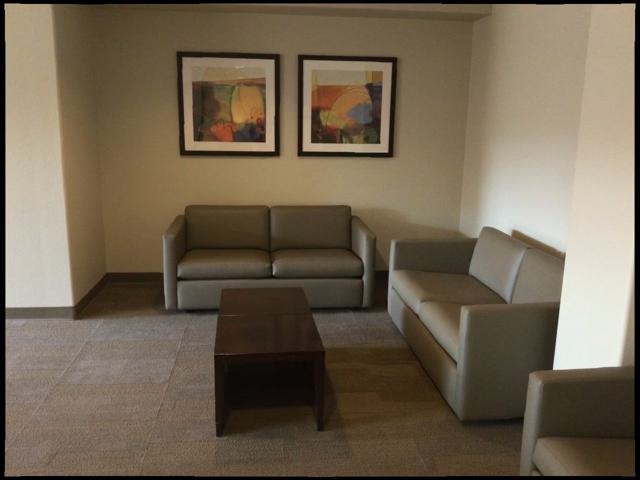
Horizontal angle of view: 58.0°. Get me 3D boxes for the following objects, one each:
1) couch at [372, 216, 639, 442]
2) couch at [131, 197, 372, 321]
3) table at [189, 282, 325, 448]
[{"bbox_3d":[0.928,0.381,3.440,0.888,0.731,1.640,-1,14,-7],"label":"couch"},{"bbox_3d":[-0.509,0.100,4.480,1.647,0.721,0.880,-1,14,-7],"label":"couch"},{"bbox_3d":[-0.339,0.601,3.100,0.599,0.431,1.050,-1,14,-7],"label":"table"}]
